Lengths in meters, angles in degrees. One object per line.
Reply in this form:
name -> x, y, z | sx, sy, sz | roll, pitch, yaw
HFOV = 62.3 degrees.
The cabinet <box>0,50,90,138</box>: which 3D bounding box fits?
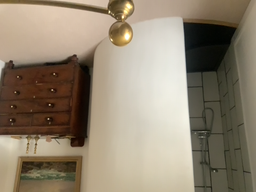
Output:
cabinet -> -1.270, 0.020, 3.170 | 1.210, 1.160, 0.520 | -3, 165, 12
